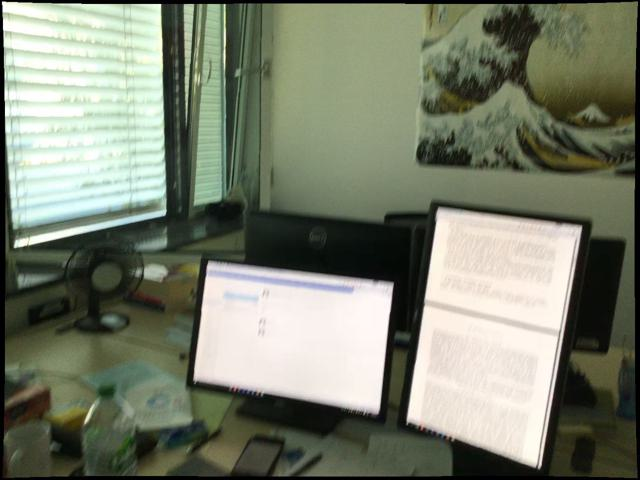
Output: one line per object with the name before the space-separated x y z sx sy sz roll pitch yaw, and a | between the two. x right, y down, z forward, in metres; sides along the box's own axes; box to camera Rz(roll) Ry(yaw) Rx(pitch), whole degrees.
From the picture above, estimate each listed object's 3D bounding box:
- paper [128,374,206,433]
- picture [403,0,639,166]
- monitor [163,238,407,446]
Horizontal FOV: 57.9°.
paper | -0.410 0.440 1.580 0.180 0.030 0.230 -1 16 -7
picture | 1.109 -0.821 2.790 1.419 0.841 0.130 9 18 28
monitor | -0.090 0.250 1.550 0.589 0.420 0.220 6 16 16
